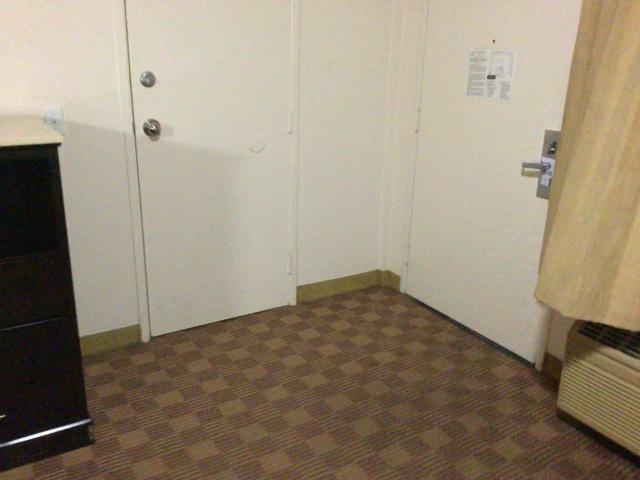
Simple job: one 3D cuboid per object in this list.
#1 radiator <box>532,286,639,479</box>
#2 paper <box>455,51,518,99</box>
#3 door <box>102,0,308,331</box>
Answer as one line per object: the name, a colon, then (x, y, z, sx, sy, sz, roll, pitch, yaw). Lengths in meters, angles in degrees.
radiator: (1.200, 0.570, 1.730, 0.200, 0.510, 1.120, -7, 19, -31)
paper: (0.730, -0.730, 2.550, 0.070, 0.190, 0.270, -7, 19, -31)
door: (-0.490, -0.460, 2.640, 0.880, 1.670, 0.130, -7, 19, -31)
